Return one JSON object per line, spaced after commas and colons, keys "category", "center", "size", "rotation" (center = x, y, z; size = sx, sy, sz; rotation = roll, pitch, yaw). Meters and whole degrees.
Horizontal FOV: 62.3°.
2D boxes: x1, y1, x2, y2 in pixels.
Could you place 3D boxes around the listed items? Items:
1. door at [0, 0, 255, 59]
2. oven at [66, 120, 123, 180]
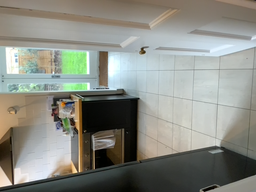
{"category": "door", "center": [0.010, -0.310, 1.020], "size": [0.780, 1.980, 0.040], "rotation": [-4, 89, 63]}
{"category": "oven", "center": [-0.510, 0.750, 3.140], "size": [0.610, 0.660, 0.600], "rotation": [13, 103, 62]}
